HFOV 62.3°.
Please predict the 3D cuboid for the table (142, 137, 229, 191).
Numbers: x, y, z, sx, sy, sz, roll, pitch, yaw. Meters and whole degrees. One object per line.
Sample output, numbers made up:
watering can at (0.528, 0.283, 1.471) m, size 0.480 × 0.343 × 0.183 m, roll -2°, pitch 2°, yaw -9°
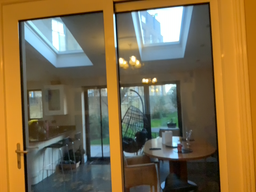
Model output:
table at (0.930, 1.260, 3.850) m, size 1.260 × 0.780 × 1.230 m, roll -3°, pitch -1°, yaw 6°
